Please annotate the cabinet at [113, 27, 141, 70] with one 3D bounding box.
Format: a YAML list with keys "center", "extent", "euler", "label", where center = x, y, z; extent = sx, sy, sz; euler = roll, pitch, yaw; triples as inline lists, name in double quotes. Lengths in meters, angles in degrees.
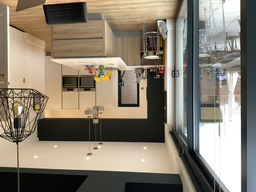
- center: [-0.010, -1.230, 5.660]
  extent: [0.650, 0.940, 0.890]
  euler: [-1, -179, 5]
  label: "cabinet"

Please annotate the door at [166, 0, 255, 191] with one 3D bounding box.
- center: [0.740, -0.500, 2.060]
  extent: [0.140, 2.420, 4.910]
  euler: [-1, -179, 3]
  label: "door"
